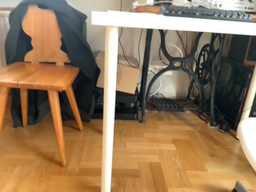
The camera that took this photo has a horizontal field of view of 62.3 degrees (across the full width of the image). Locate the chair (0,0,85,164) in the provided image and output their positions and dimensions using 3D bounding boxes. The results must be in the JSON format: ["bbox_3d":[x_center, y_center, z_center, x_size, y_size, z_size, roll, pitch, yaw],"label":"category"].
[{"bbox_3d":[-0.460,-0.120,1.150,0.380,0.800,0.480,3,21,-5],"label":"chair"}]
